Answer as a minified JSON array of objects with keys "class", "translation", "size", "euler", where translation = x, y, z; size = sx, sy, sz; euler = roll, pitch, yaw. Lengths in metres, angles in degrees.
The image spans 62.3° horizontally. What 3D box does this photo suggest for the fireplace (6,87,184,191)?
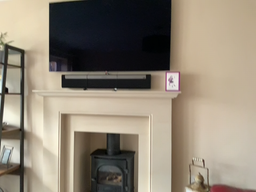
[{"class":"fireplace","translation":[-0.220,0.560,2.210],"size":[1.470,1.280,1.080],"euler":[0,1,11]}]
